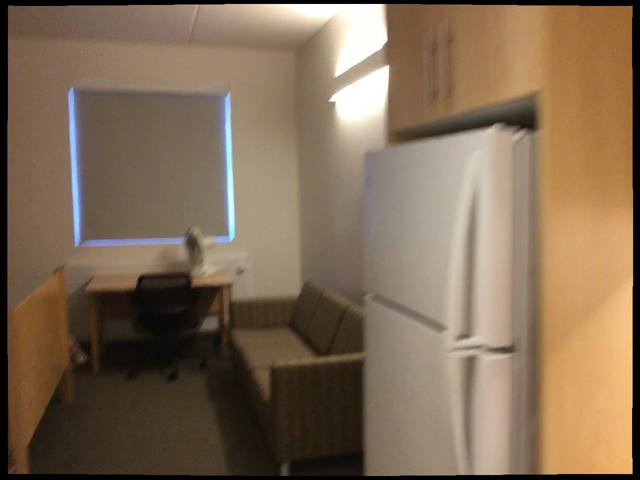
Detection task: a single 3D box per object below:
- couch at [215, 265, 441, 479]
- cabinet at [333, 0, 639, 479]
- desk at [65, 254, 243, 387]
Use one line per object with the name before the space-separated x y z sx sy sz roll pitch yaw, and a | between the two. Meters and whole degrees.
couch | -0.100 0.751 3.950 0.958 0.802 2.040 -4 7 -16
cabinet | 0.609 0.140 1.770 0.799 2.475 1.030 -4 7 -16
desk | -1.467 0.661 5.210 1.368 0.862 0.910 -4 7 -16
